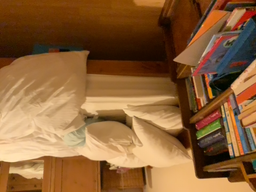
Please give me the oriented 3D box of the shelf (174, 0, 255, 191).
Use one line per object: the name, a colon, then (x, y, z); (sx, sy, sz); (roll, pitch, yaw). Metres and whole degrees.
shelf: (0.440, 0.010, 0.690); (0.300, 0.560, 0.620); (-1, 157, -8)
